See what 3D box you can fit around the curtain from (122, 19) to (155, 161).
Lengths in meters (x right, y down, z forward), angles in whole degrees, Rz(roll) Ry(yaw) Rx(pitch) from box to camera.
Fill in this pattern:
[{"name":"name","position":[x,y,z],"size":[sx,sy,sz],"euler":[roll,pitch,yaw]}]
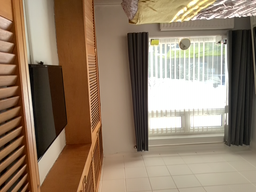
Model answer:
[{"name":"curtain","position":[0.170,-0.060,3.290],"size":[0.440,2.150,0.150],"euler":[-3,-172,-4]}]

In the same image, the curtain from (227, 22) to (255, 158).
[{"name":"curtain","position":[1.830,-0.070,3.370],"size":[0.380,2.100,0.200],"euler":[-3,-172,-4]}]
